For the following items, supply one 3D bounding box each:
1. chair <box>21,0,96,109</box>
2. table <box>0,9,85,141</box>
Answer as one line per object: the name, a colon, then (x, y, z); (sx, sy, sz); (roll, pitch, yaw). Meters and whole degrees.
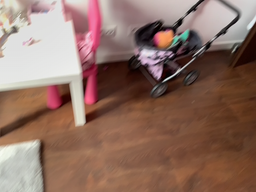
chair: (-0.370, -0.280, 1.320); (0.320, 0.630, 0.410); (-2, 50, -10)
table: (-0.610, -0.140, 1.270); (0.590, 0.460, 0.590); (-9, 52, -15)
